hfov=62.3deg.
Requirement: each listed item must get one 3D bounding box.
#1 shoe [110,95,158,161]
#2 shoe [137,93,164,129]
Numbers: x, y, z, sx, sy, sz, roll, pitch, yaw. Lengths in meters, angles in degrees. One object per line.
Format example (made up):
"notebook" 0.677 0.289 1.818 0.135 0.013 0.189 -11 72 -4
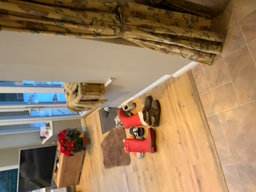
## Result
"shoe" 0.040 0.410 2.600 0.640 0.140 0.680 -30 66 52
"shoe" 0.240 0.170 2.330 0.250 0.090 0.340 -32 64 52
